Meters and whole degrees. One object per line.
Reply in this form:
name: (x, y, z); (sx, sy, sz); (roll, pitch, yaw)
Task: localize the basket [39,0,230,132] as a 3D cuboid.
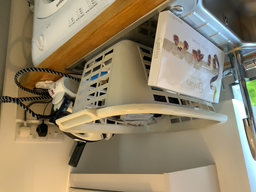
basket: (0.010, -0.040, 0.820); (0.490, 0.290, 0.510); (10, 159, -43)
